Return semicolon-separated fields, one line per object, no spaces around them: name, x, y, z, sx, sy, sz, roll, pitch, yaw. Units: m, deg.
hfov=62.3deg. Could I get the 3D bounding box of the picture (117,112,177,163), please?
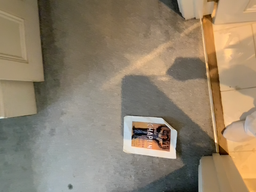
picture;0.100;0.220;1.150;0.300;0.040;0.220;7;93;16
